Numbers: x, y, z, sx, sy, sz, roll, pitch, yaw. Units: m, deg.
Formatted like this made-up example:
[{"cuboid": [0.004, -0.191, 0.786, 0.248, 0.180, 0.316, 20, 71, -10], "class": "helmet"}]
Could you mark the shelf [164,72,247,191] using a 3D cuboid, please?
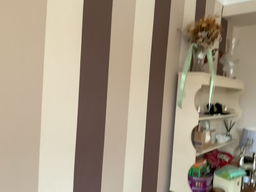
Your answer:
[{"cuboid": [0.720, 0.270, 1.850, 0.930, 0.870, 0.220, 1, 5, -44], "class": "shelf"}]
